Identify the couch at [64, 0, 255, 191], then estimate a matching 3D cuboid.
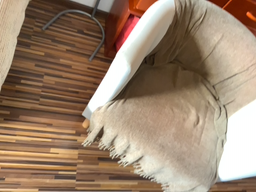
[{"bbox_3d":[0.210,0.010,1.060,0.640,0.640,0.690,38,54,-5],"label":"couch"}]
